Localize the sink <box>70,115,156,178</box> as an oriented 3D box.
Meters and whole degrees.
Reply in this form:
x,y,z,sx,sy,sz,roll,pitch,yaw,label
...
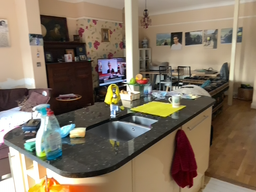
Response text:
x,y,z,sx,sy,sz,roll,pitch,yaw,label
-0.100,0.320,1.520,0.470,0.210,0.390,8,15,37,sink
